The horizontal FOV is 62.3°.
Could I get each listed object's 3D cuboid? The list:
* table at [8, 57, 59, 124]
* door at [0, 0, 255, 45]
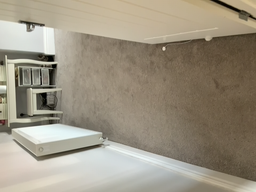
[{"bbox_3d":[-1.540,-0.090,3.470,0.310,0.680,0.990,-1,91,52],"label":"table"},{"bbox_3d":[-0.230,-0.330,0.700,0.690,2.010,0.050,12,101,51],"label":"door"}]
